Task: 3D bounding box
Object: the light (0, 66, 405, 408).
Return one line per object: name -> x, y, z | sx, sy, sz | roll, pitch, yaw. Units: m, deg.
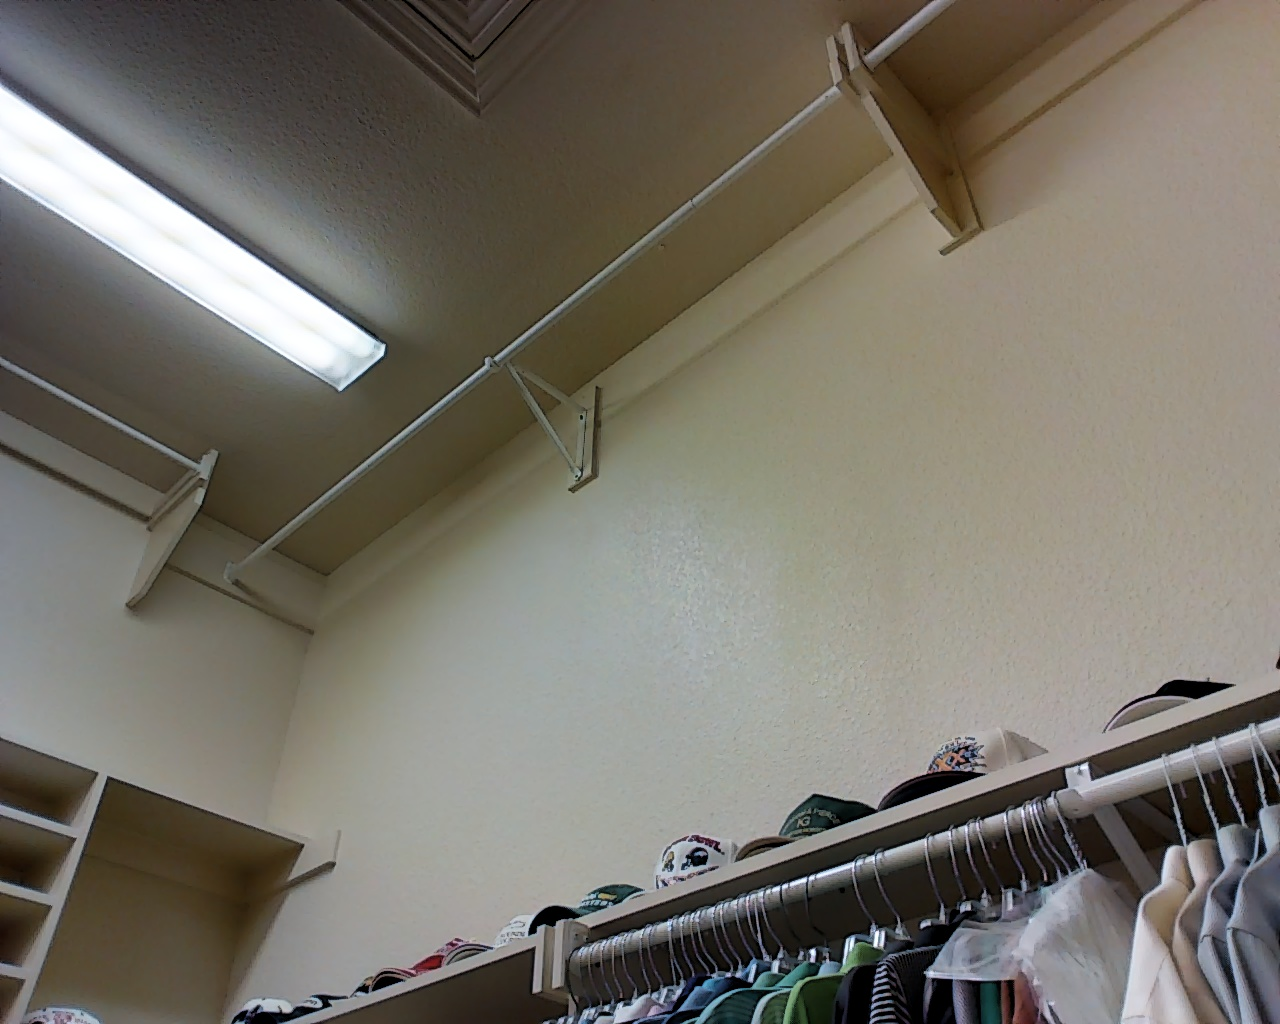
light -> -1.120, -0.650, 2.480 | 0.210, 0.100, 1.250 | -32, -49, 32
